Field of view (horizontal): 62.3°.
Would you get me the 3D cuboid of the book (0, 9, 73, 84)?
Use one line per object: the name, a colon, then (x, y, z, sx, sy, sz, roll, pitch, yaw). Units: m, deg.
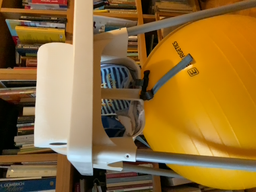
book: (-0.480, -0.260, 1.180, 0.260, 0.310, 0.300, 115, 153, -68)
